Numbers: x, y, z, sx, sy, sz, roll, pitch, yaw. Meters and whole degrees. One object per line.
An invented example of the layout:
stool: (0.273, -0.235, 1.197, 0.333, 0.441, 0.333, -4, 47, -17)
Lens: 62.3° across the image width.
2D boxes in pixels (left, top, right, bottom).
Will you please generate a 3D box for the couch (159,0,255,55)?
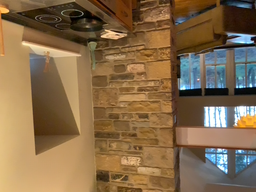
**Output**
couch: (1.630, -1.410, 4.600, 1.150, 0.780, 1.680, -4, -176, -25)
